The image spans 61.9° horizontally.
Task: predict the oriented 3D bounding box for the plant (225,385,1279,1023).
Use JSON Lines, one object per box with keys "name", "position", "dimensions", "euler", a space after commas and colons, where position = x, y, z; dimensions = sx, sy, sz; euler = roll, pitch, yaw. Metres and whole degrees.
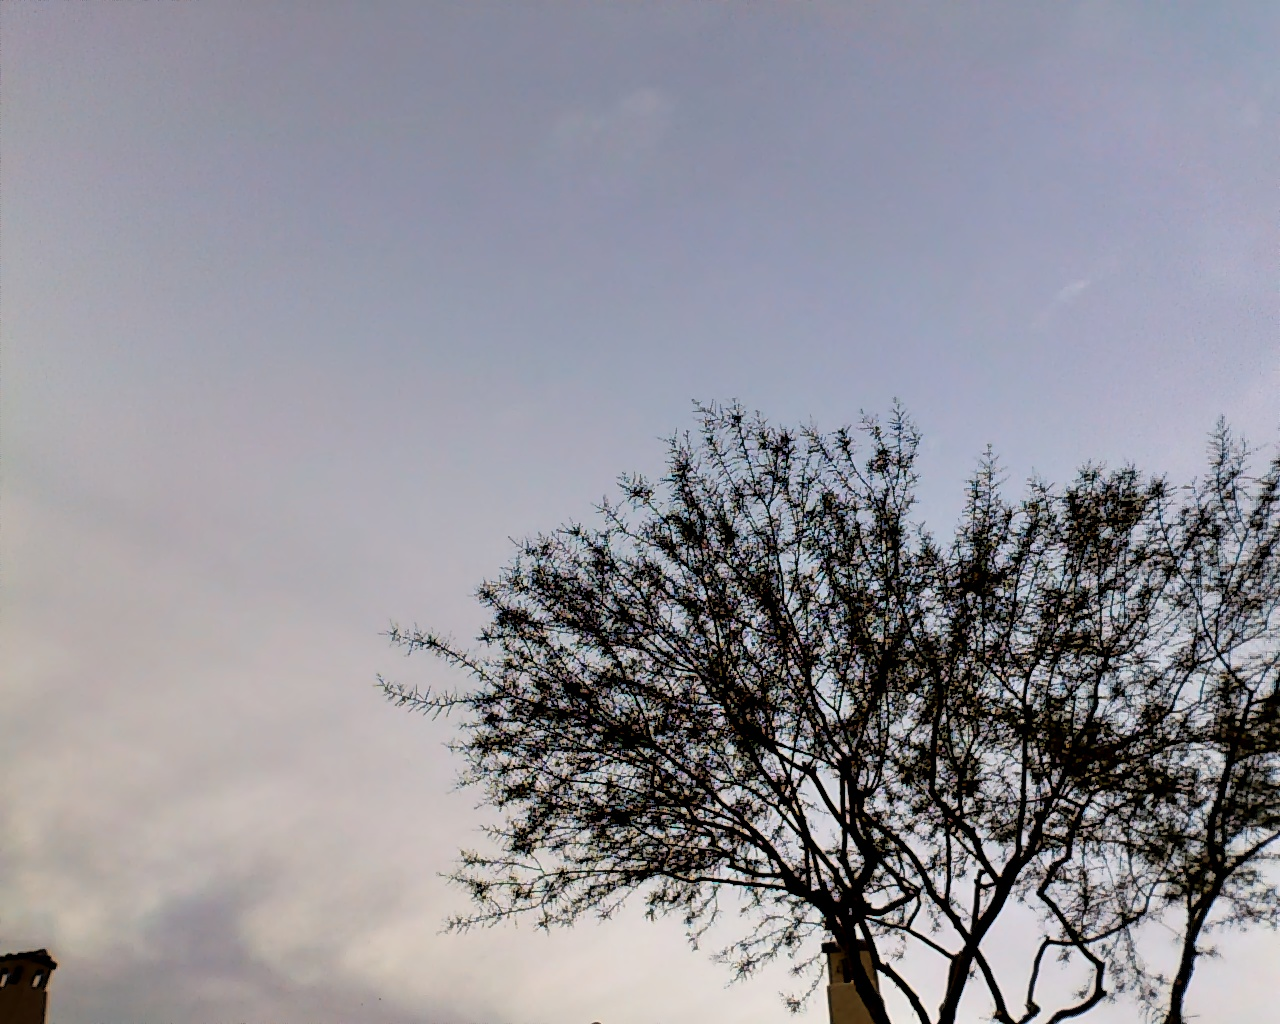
{"name": "plant", "position": [1.529, 3.221, 5.420], "dimensions": [5.228, 4.751, 4.840], "euler": [-13, -43, 14]}
